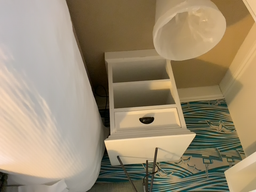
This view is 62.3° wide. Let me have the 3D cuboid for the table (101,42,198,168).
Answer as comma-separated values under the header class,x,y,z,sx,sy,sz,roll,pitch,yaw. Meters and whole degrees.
class,x,y,z,sx,sy,sz,roll,pitch,yaw
table,0.090,0.070,1.380,0.450,0.620,0.490,-5,149,-1
